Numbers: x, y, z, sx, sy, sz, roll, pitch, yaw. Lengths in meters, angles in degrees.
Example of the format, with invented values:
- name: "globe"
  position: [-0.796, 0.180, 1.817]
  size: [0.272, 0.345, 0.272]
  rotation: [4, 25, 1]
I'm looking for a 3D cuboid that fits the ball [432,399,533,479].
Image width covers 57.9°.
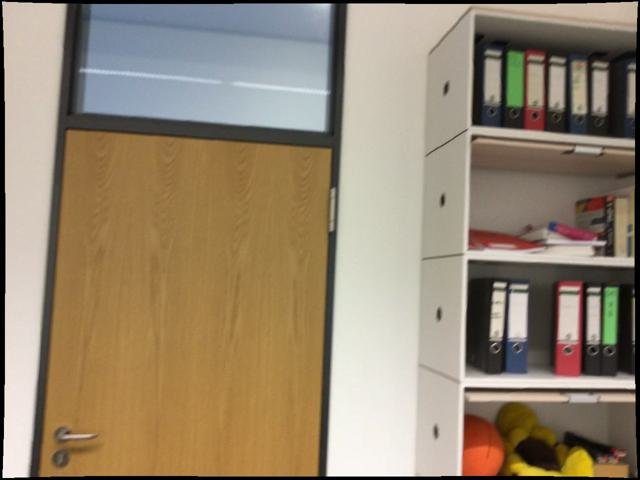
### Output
- name: "ball"
  position: [0.549, 0.691, 1.990]
  size: [0.250, 0.210, 0.260]
  rotation: [0, -2, -8]

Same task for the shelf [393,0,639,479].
- name: "shelf"
  position: [0.779, 0.450, 1.990]
  size: [0.909, 2.503, 0.520]
  rotation: [0, -2, -8]
